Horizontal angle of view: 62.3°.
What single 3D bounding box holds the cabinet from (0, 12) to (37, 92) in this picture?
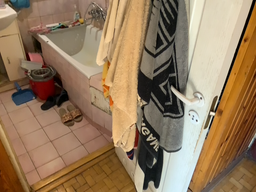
[{"bbox_3d":[-1.410,-0.480,2.370,0.520,0.750,0.300,-24,44,-31],"label":"cabinet"}]
